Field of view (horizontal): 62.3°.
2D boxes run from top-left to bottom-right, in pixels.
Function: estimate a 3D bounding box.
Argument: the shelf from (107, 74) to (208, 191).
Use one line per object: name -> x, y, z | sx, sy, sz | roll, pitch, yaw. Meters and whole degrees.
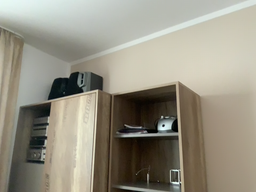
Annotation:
shelf -> 0.190, 0.570, 1.330 | 0.500, 1.280, 0.390 | -10, -18, 34
